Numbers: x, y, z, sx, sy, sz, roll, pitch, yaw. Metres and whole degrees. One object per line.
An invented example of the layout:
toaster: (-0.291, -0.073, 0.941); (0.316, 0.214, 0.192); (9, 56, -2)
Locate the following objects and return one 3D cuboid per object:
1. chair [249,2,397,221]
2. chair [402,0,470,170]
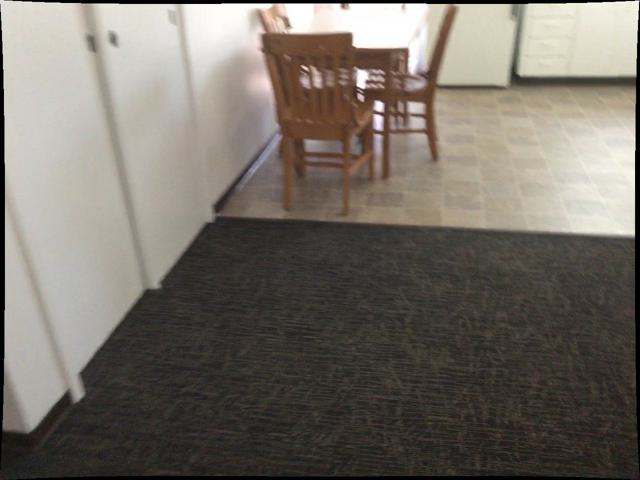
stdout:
chair: (0.060, -0.651, 2.880); (0.589, 0.901, 0.610); (3, 31, 10)
chair: (0.649, -0.891, 3.270); (0.310, 0.881, 0.390); (4, 31, 11)
